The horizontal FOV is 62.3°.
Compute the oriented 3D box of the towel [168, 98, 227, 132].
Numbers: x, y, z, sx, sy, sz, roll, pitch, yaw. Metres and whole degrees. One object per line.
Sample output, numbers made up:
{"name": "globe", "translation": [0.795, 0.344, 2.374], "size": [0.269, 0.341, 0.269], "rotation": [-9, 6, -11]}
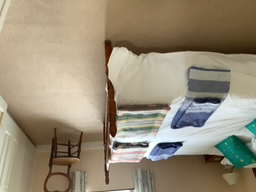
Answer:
{"name": "towel", "translation": [0.590, 0.180, 1.880], "size": [0.340, 0.080, 0.470], "rotation": [-2, 148, -8]}

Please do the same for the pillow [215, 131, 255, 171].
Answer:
{"name": "pillow", "translation": [1.290, 0.650, 2.500], "size": [0.140, 0.360, 0.350], "rotation": [-34, 157, -25]}

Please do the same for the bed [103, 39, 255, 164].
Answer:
{"name": "bed", "translation": [0.780, 0.180, 2.370], "size": [2.080, 0.550, 1.650], "rotation": [-2, 148, -8]}
